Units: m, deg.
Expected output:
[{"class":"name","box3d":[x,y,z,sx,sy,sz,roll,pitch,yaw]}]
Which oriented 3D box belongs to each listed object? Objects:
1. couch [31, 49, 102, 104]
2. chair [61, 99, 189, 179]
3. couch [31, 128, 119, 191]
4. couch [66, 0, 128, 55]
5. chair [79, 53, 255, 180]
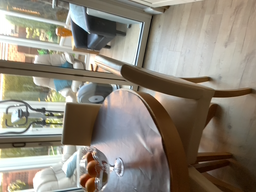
[{"class":"couch","box3d":[-1.220,-0.380,4.100,0.800,1.090,0.830,30,113,58]},{"class":"chair","box3d":[-0.040,0.330,1.930,0.560,0.970,0.460,22,106,60]},{"class":"couch","box3d":[-0.830,0.940,3.240,0.790,1.090,0.690,15,100,60]},{"class":"couch","box3d":[-0.520,-1.130,3.350,0.900,0.690,0.620,-15,74,60]},{"class":"chair","box3d":[0.260,0.100,1.410,0.450,0.990,0.570,33,116,57]}]
